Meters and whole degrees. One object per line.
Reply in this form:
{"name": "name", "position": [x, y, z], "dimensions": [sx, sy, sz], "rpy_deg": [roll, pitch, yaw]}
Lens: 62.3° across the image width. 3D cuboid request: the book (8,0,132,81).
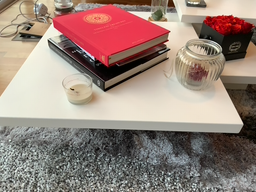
{"name": "book", "position": [-0.200, -0.220, 0.740], "dimensions": [0.290, 0.100, 0.310], "rpy_deg": [-27, 49, -30]}
